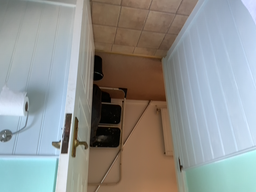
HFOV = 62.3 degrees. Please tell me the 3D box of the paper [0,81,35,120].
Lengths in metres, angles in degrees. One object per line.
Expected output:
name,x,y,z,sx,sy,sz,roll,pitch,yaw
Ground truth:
paper,-0.520,0.020,0.940,0.170,0.140,0.080,6,154,-16
